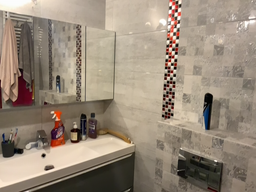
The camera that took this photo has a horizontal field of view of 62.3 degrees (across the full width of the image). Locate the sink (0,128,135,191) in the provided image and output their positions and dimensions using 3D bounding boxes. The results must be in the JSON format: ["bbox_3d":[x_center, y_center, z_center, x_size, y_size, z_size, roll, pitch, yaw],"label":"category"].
[{"bbox_3d":[-0.450,0.430,1.580,0.460,0.100,0.990,11,11,43],"label":"sink"}]
